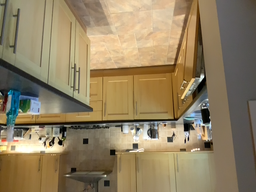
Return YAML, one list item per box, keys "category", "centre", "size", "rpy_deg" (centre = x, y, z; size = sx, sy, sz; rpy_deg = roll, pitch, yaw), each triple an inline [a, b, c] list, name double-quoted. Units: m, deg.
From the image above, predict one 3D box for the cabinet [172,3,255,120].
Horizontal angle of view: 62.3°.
- category: "cabinet"
  centre: [0.890, -0.240, 2.470]
  size: [0.580, 0.900, 1.330]
  rpy_deg: [-2, 168, 7]

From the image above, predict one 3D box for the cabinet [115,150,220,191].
- category: "cabinet"
  centre: [0.580, 1.270, 3.330]
  size: [1.520, 0.800, 0.350]
  rpy_deg: [-2, 168, 7]
